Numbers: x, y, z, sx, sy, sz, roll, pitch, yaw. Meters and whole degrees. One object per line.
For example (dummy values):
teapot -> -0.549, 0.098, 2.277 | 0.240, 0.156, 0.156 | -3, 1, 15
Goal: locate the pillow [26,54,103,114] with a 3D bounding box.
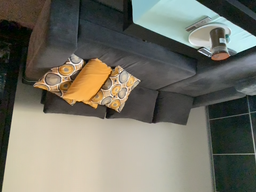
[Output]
pillow -> -0.570, -0.140, 2.030 | 0.280, 0.420, 0.570 | -25, -179, 21

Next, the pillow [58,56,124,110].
pillow -> -0.340, -0.150, 2.090 | 0.290, 0.400, 0.490 | -23, 179, 28
